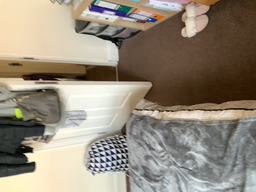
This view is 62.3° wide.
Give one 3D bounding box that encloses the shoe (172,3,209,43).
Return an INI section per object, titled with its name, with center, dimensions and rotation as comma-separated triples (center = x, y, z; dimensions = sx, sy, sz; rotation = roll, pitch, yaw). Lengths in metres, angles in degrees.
[shoe]
center = 0.480, -0.560, 1.650
dimensions = 0.260, 0.070, 0.180
rotation = -23, 74, 54
